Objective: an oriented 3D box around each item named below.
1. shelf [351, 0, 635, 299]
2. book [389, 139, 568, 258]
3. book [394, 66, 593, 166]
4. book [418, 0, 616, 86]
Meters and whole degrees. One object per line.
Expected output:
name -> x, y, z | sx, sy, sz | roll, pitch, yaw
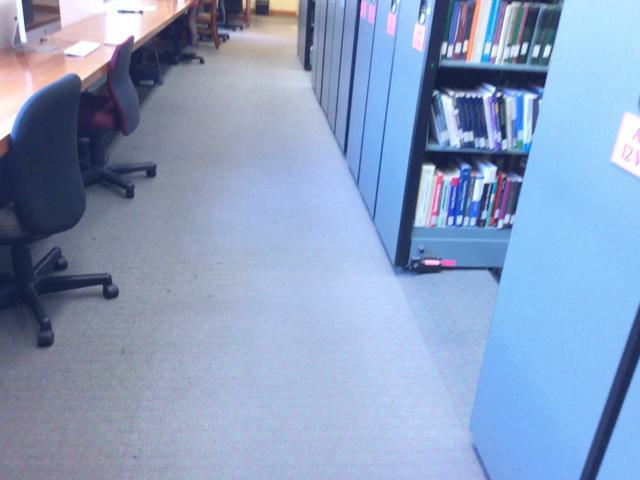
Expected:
shelf -> 0.710, -0.800, 2.690 | 0.800, 1.860, 0.990 | 3, 20, -6
book -> 0.710, -0.210, 2.730 | 0.630, 0.400, 0.480 | 3, 20, -6
book -> 0.730, -0.560, 2.560 | 0.680, 0.320, 0.450 | 3, 20, -6
book -> 0.780, -0.860, 2.370 | 0.640, 0.360, 0.340 | 3, 20, -6
